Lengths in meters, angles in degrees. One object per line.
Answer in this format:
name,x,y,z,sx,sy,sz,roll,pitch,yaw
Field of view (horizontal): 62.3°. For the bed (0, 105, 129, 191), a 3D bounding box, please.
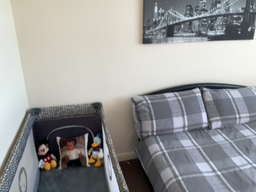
bed,-0.450,0.660,1.580,0.660,0.710,1.250,-5,21,-14
